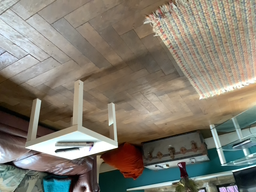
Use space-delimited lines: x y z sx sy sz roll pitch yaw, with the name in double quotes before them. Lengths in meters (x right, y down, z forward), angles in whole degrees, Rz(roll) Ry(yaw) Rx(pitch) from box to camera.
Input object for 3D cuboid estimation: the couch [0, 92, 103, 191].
"couch" -1.330 0.620 2.190 1.030 0.740 2.260 -19 148 21
